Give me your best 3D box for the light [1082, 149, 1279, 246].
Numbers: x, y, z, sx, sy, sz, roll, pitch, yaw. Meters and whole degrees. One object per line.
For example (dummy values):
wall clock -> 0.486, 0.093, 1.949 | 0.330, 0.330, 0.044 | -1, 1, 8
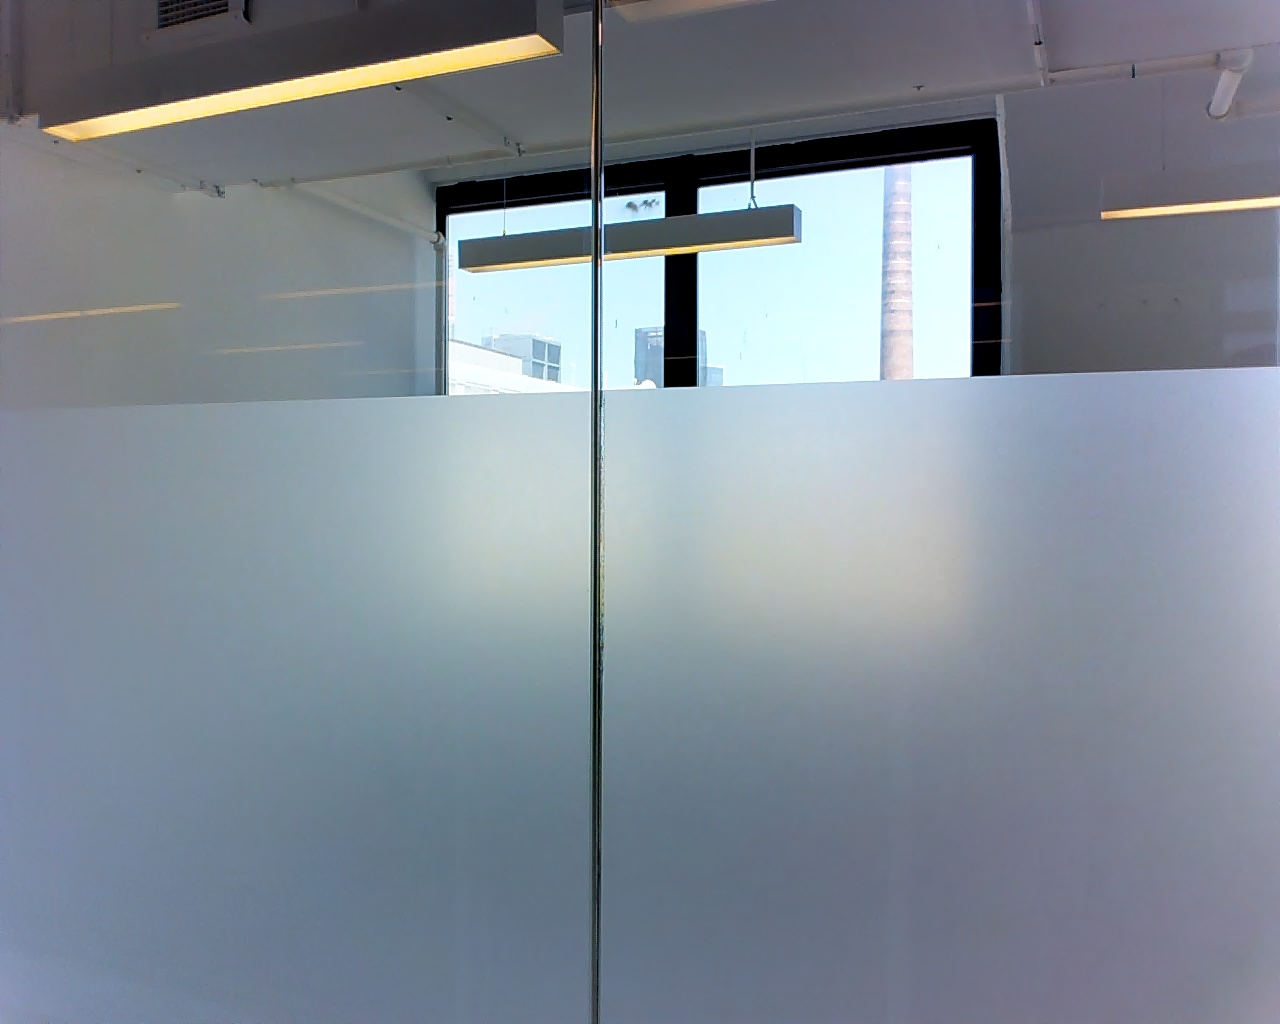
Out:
light -> 1.840, -0.850, 2.780 | 1.280, 0.170, 0.180 | 1, 1, 23
